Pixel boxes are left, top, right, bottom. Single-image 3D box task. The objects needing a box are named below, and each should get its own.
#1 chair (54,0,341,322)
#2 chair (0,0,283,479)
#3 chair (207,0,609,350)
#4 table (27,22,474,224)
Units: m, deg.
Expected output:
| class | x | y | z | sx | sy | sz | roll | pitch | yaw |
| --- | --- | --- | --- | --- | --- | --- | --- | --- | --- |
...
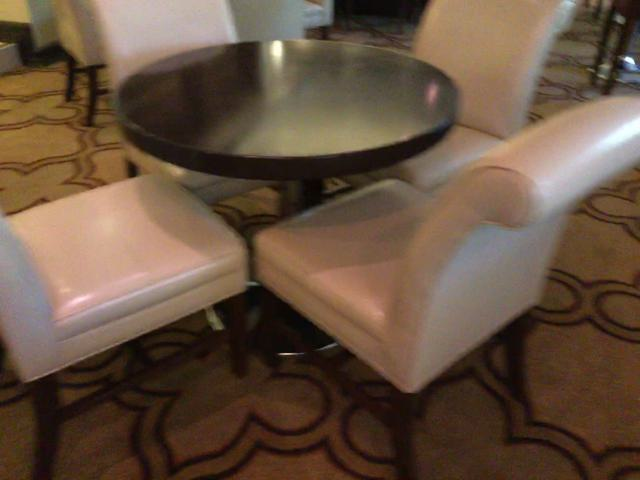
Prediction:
| class | x | y | z | sx | sy | sz | roll | pitch | yaw |
| --- | --- | --- | --- | --- | --- | --- | --- | --- | --- |
| chair | -0.410 | -0.400 | 2.030 | 0.590 | 0.920 | 0.820 | -23 | 40 | -28 |
| chair | -0.610 | 0.010 | 1.420 | 0.820 | 0.950 | 0.550 | -24 | 41 | -29 |
| chair | 0.280 | -0.390 | 2.010 | 0.890 | 0.920 | 0.850 | 27 | 44 | 34 |
| table | -0.090 | -0.390 | 1.550 | 0.890 | 0.100 | 0.900 | 9 | 36 | 15 |
